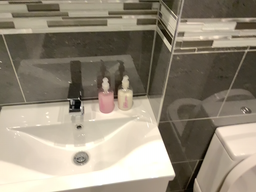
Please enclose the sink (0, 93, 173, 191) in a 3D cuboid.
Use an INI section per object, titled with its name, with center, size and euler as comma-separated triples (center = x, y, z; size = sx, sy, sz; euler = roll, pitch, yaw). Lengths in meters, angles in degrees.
[sink]
center = -0.200, 0.190, 0.830
size = 0.630, 0.140, 0.400
euler = -4, 41, -9
